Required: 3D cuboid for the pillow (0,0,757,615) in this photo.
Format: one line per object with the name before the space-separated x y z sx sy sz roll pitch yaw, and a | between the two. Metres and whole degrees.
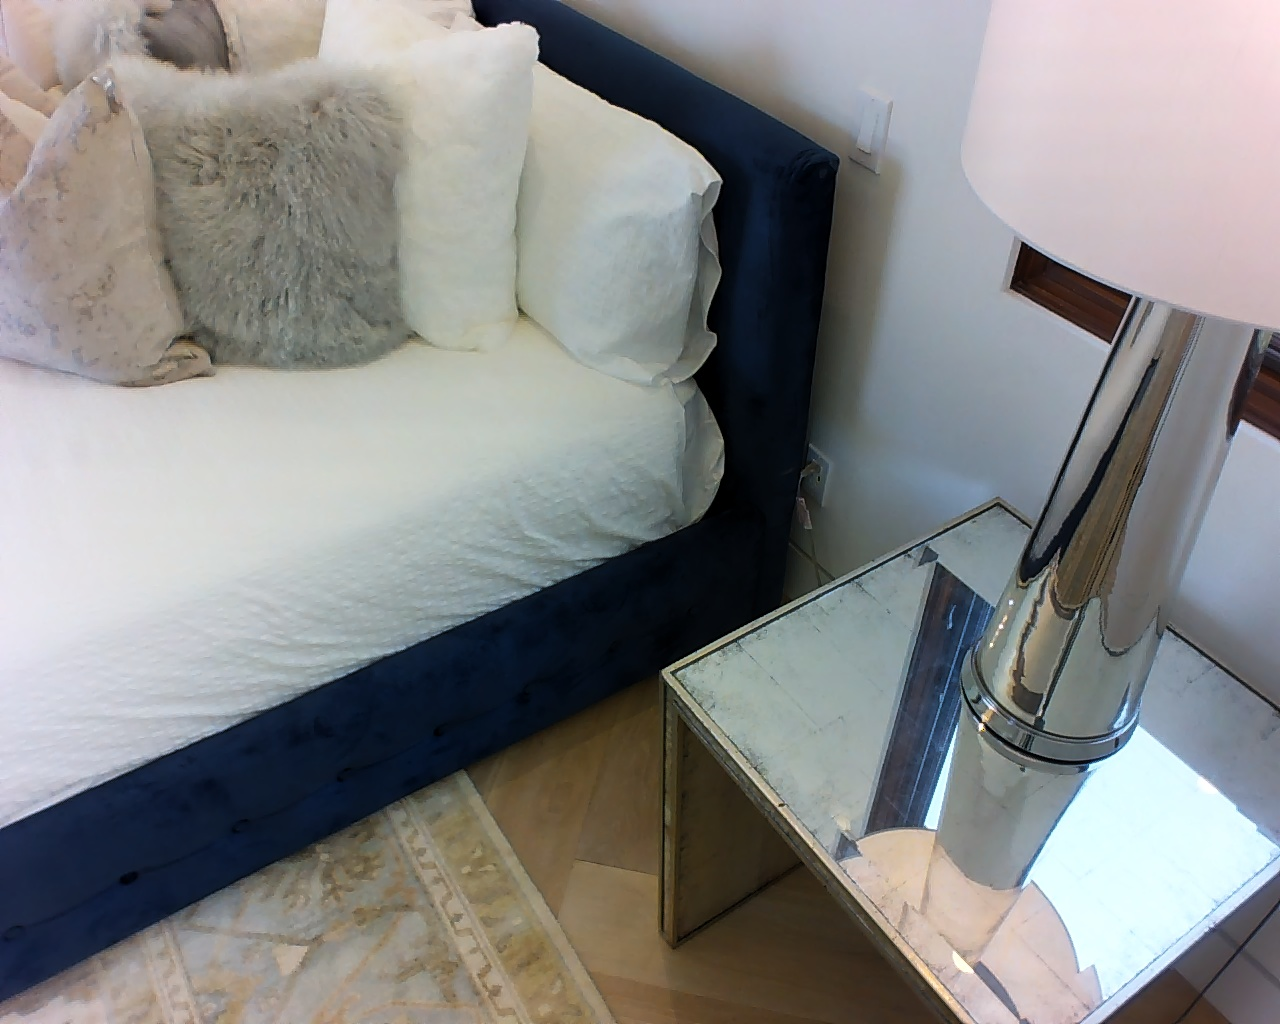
pillow | -0.790 -0.750 2.060 1.150 0.520 1.760 -24 46 -24
